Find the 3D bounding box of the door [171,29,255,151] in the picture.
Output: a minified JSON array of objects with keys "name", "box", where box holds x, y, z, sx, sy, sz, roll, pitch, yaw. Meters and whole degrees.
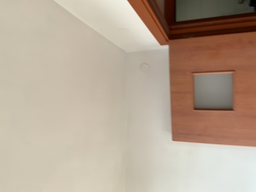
[{"name":"door","box":[1.330,-0.030,1.360,0.080,2.060,0.860,-29,-63,-67]}]
